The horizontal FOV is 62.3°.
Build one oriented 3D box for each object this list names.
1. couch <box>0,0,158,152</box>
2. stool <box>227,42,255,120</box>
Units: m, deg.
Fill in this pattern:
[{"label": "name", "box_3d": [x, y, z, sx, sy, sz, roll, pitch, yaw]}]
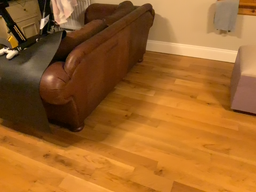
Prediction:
[{"label": "couch", "box_3d": [-0.480, -0.540, 2.500, 0.980, 0.780, 2.170, 14, 38, 20]}, {"label": "stool", "box_3d": [1.270, -0.160, 2.140, 0.380, 0.530, 0.600, 12, 37, 17]}]
